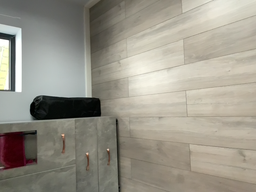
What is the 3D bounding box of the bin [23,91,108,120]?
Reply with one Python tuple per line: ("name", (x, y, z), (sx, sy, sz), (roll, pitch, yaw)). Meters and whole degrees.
("bin", (-0.610, 0.100, 2.180), (0.220, 0.820, 0.250), (-5, 85, 48))
